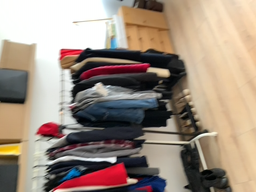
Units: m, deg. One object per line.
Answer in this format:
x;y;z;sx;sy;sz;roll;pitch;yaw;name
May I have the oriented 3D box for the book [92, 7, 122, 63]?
-0.300;-0.810;2.850;0.360;0.270;0.610;125;142;-54;book
